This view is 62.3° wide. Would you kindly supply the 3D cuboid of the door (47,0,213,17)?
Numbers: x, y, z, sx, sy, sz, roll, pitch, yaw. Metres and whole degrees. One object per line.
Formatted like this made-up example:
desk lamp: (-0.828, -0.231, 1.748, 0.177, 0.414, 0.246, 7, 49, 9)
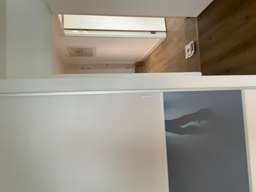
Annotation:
door: (0.060, -1.150, 2.420, 0.840, 1.940, 0.040, 156, 113, -79)
